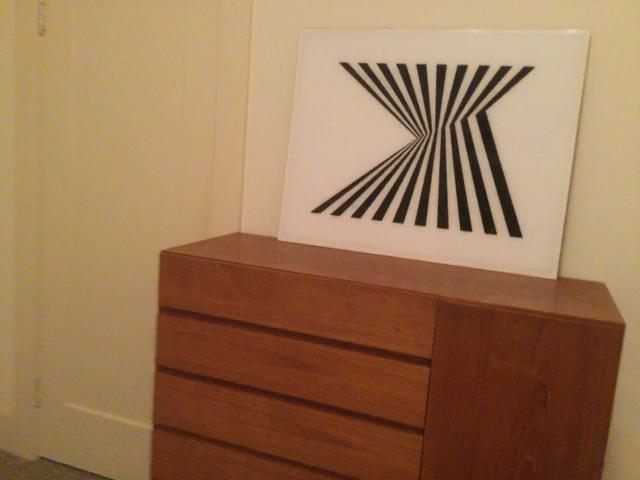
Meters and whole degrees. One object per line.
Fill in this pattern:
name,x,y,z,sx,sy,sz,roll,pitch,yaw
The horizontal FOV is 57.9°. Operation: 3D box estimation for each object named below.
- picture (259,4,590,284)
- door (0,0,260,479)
picture,0.260,-0.280,1.650,0.850,0.700,0.120,6,6,19
door,-0.750,-0.050,2.050,1.010,2.010,0.150,6,6,19
